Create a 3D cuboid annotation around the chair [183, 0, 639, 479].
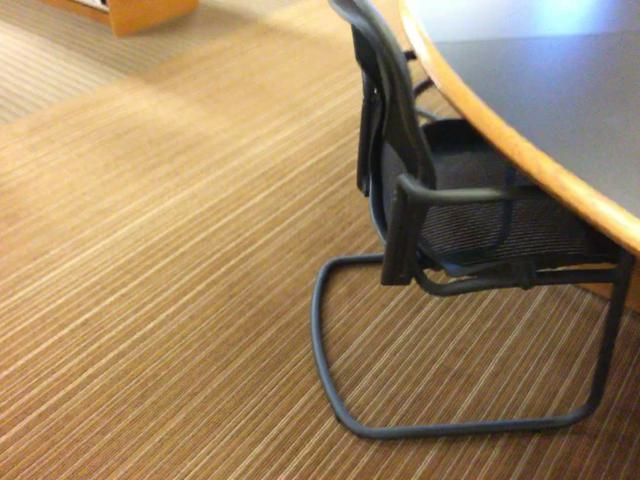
[{"bbox_3d":[0.310,-0.100,1.290,0.900,1.090,0.870,3,47,0],"label":"chair"}]
